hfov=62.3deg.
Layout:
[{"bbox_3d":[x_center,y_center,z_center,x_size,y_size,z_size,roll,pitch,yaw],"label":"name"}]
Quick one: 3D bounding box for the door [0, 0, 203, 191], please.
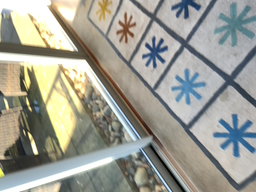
[{"bbox_3d":[-1.320,-0.430,1.460,5.640,2.440,0.070,51,125,30],"label":"door"}]
